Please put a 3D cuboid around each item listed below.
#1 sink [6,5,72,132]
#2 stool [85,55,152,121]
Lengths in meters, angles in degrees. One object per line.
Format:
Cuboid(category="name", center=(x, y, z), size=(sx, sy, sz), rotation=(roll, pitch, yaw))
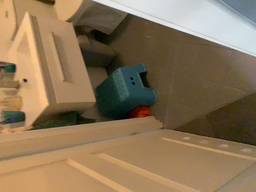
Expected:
Cuboid(category="sink", center=(-0.580, -0.160, 1.320), size=(0.390, 0.150, 0.650), rotation=(-36, 65, 40))
Cuboid(category="stool", center=(-0.090, -0.050, 1.690), size=(0.410, 0.250, 0.340), rotation=(-37, 65, 40))
